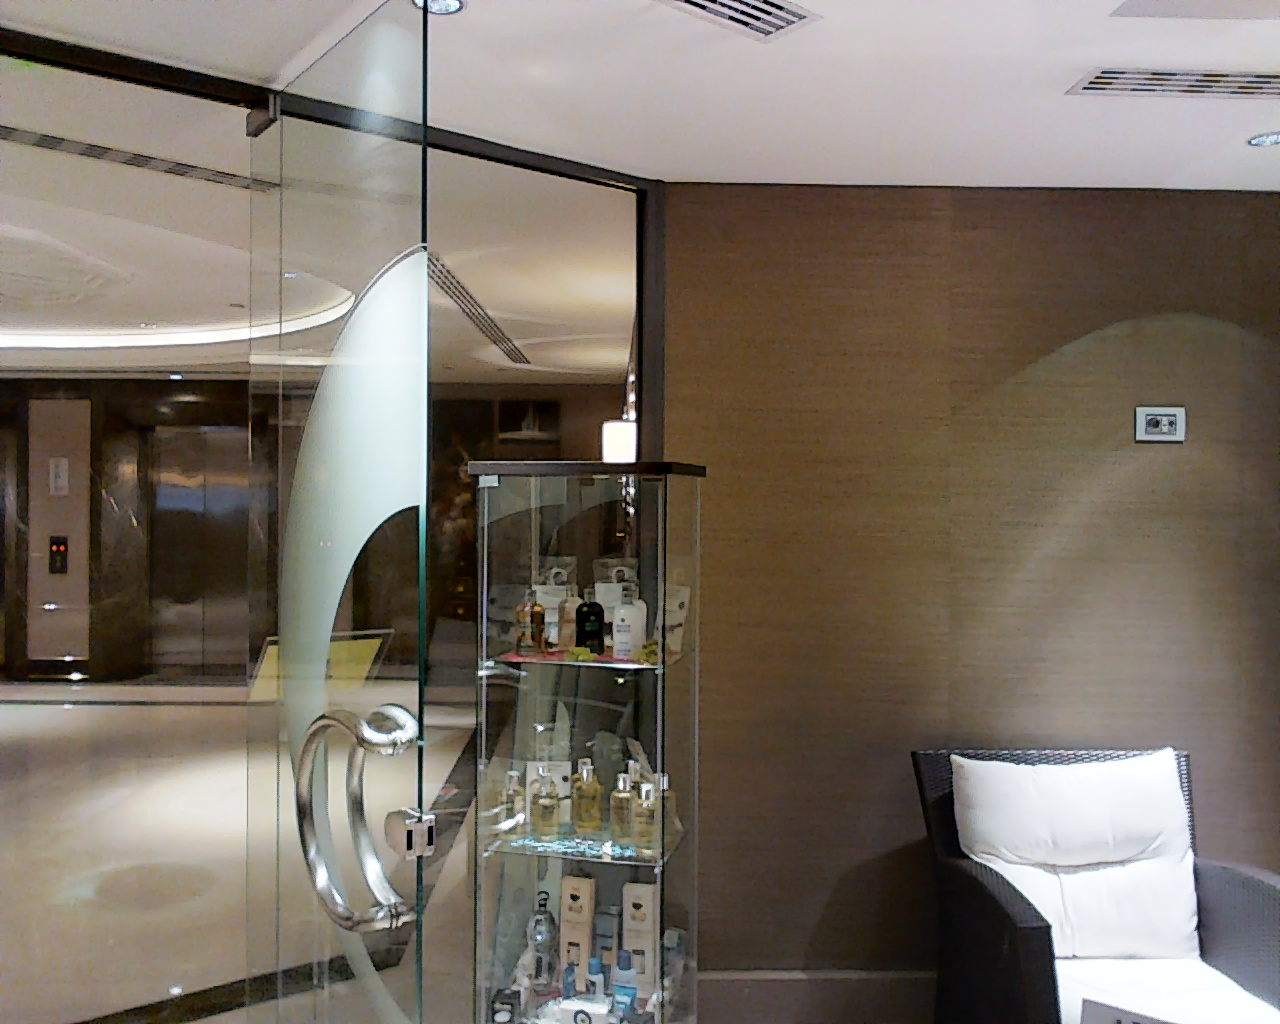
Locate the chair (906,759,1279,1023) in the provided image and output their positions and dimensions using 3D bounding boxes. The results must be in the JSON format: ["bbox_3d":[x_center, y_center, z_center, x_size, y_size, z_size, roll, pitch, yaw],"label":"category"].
[{"bbox_3d":[1.230,1.150,2.730,0.860,0.830,0.910,0,0,-2],"label":"chair"}]
